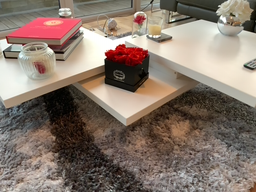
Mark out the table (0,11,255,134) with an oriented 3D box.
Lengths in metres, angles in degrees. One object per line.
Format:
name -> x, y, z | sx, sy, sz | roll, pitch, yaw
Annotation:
table -> -0.020, -0.230, 1.270 | 1.620, 0.280, 0.820 | 5, 35, 5
